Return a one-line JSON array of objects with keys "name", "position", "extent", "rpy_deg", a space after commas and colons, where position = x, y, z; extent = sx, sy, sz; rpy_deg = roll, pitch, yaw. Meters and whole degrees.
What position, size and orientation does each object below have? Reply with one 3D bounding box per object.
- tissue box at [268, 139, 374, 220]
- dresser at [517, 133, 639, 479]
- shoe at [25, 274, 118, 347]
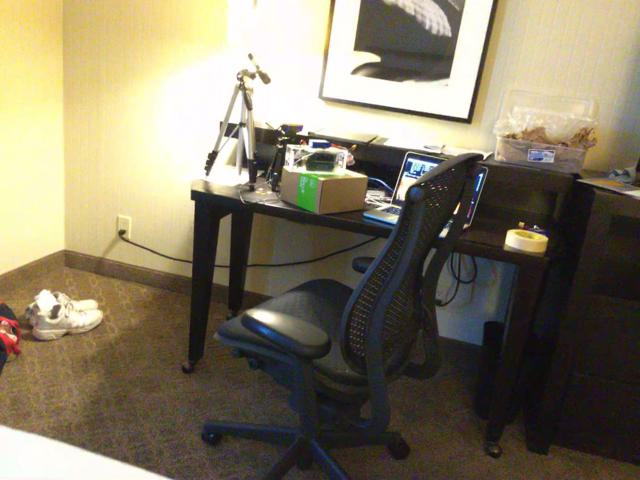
[{"name": "tissue box", "position": [0.000, -0.220, 2.000], "extent": [0.230, 0.220, 0.270], "rpy_deg": [-9, 21, -40]}, {"name": "dresser", "position": [1.380, 0.270, 1.950], "extent": [1.180, 1.090, 0.560], "rpy_deg": [9, 17, 15]}, {"name": "shoe", "position": [-1.080, 0.290, 2.500], "extent": [0.310, 0.140, 0.380], "rpy_deg": [-5, 19, -31]}]
